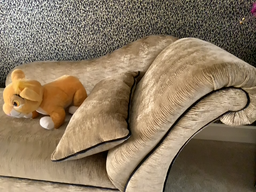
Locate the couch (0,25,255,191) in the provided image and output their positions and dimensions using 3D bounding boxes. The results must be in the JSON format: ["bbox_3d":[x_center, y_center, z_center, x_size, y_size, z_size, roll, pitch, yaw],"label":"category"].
[{"bbox_3d":[-0.390,0.060,1.070,1.630,0.710,0.790,4,22,4],"label":"couch"}]
